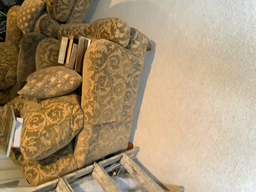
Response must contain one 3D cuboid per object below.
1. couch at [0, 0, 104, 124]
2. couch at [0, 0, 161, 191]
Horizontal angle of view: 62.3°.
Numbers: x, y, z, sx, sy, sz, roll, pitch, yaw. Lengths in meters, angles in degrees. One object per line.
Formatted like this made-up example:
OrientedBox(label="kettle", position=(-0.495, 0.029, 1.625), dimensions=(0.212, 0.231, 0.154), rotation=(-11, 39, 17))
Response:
OrientedBox(label="couch", position=(-1.100, -0.670, 2.320), dimensions=(0.880, 0.820, 1.770), rotation=(43, 112, 38))
OrientedBox(label="couch", position=(-0.420, -0.030, 1.610), dimensions=(0.820, 0.810, 1.080), rotation=(14, 94, 43))
